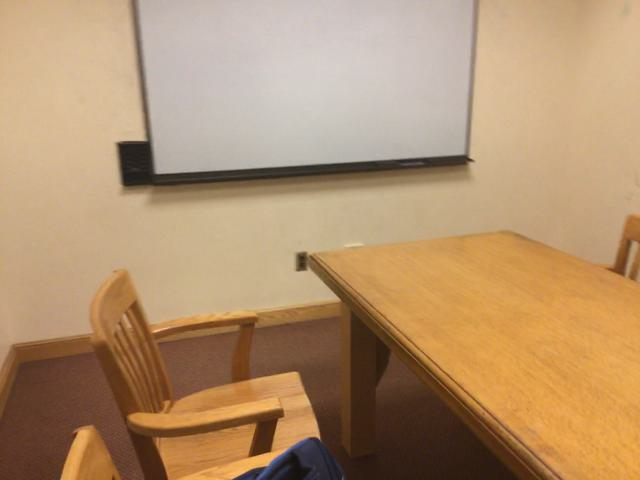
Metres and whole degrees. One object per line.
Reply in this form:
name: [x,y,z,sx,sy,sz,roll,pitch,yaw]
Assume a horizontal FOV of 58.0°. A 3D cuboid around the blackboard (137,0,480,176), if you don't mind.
blackboard: [-0.020,-0.950,2.930,1.700,1.130,0.220,-5,19,-16]
